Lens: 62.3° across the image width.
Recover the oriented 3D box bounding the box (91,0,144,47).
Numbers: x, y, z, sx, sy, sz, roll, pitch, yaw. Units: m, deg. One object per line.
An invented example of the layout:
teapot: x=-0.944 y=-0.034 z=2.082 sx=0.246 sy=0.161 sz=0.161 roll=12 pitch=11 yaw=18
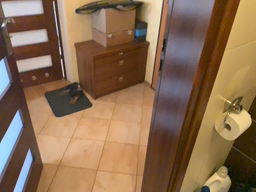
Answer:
box: x=-0.120 y=-0.830 z=2.340 sx=0.480 sy=0.410 sz=0.280 roll=-21 pitch=42 yaw=-32
